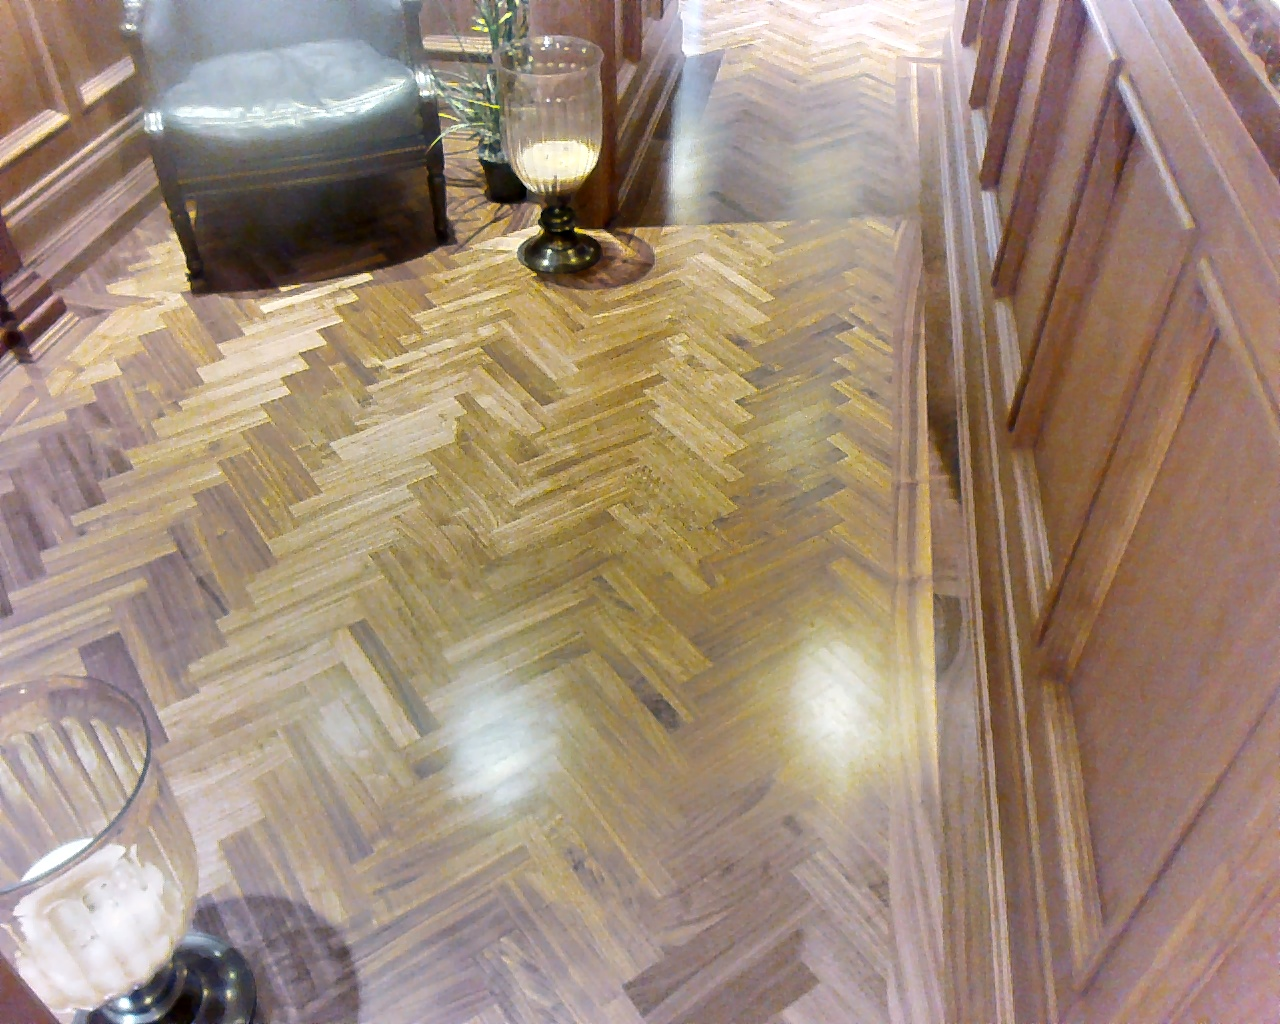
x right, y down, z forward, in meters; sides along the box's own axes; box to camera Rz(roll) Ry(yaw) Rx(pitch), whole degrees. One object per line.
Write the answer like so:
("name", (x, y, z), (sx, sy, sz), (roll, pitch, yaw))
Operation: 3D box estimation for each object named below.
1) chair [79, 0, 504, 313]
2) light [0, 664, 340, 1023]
("chair", (-0.960, -1.360, 2.880), (0.860, 1.110, 1.070), (-13, 44, -15))
("light", (-0.620, 0.500, 1.230), (0.340, 0.530, 0.360), (6, 42, 6))
